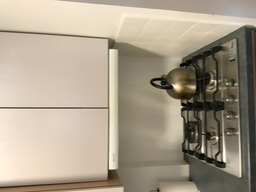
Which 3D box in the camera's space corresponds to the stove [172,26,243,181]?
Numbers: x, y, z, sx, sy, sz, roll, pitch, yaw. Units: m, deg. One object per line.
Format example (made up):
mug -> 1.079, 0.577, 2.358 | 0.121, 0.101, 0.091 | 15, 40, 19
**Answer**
stove -> 0.390, 0.040, 1.170 | 0.590, 0.050, 0.640 | 168, 102, -78
